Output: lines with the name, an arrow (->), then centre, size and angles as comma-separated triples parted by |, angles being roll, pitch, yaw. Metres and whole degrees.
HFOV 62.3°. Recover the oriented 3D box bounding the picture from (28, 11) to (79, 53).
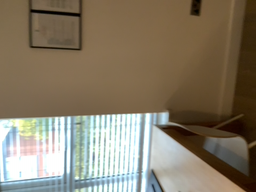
picture -> -0.470, -0.400, 1.360 | 0.040, 0.300, 0.230 | -152, 63, -69
